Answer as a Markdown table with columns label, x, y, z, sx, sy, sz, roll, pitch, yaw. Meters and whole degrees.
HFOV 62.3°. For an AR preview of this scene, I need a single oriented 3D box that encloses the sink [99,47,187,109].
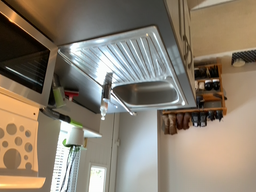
| label | x | y | z | sx | sy | sz | roll | pitch | yaw |
| --- | --- | --- | --- | --- | --- | --- | --- | --- | --- |
| sink | 0.140 | -0.090 | 1.530 | 0.480 | 0.190 | 0.520 | -6 | 158 | 21 |

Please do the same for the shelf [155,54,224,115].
| label | x | y | z | sx | sy | sz | roll | pitch | yaw |
| --- | --- | --- | --- | --- | --- | --- | --- | --- | --- |
| shelf | 0.780 | -0.130 | 2.780 | 0.790 | 0.670 | 0.280 | -5 | 158 | 19 |

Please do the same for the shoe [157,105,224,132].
| label | x | y | z | sx | sy | sz | roll | pitch | yaw |
| --- | --- | --- | --- | --- | --- | --- | --- | --- | --- |
| shoe | 0.750 | 0.290 | 2.620 | 0.750 | 0.250 | 0.250 | -4 | 158 | 18 |
